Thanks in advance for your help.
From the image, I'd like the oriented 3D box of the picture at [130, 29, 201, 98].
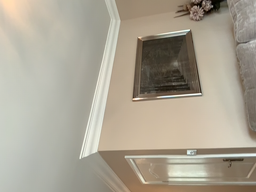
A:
[{"bbox_3d":[0.450,-0.450,2.690,0.050,0.770,1.100,71,-161,-48],"label":"picture"}]
